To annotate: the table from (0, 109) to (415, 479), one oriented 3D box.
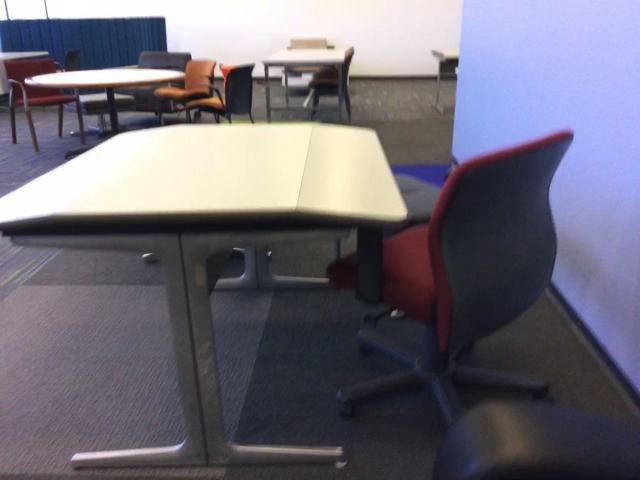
[{"bbox_3d":[-0.320,0.050,2.010,1.130,0.820,1.340,2,20,4],"label":"table"}]
